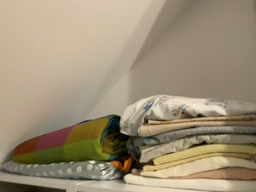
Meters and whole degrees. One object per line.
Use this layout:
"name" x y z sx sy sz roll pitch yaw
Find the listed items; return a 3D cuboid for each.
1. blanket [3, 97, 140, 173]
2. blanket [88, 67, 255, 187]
"blanket" -0.220 0.170 0.880 0.450 0.230 0.300 -7 -16 28
"blanket" 0.170 0.110 0.660 0.480 0.250 0.300 -6 -15 27
